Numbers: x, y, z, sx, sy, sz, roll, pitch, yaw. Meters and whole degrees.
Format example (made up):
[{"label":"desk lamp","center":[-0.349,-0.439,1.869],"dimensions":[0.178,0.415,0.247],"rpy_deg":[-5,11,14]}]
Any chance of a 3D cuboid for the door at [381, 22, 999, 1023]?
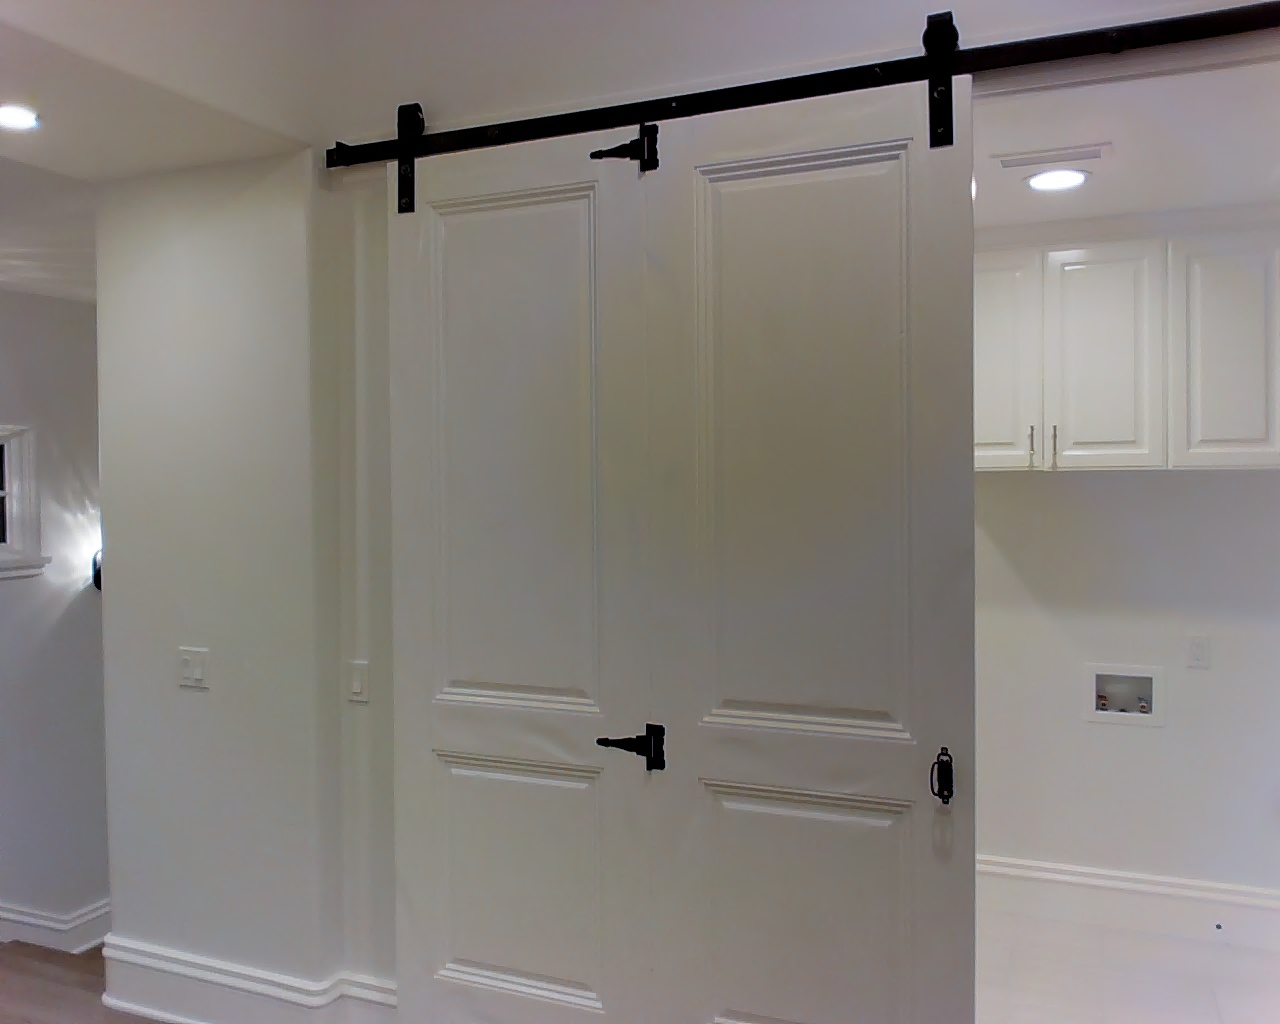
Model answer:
[{"label":"door","center":[0.050,0.280,2.650],"dimensions":[1.570,2.631,0.120],"rpy_deg":[0,1,24]}]
